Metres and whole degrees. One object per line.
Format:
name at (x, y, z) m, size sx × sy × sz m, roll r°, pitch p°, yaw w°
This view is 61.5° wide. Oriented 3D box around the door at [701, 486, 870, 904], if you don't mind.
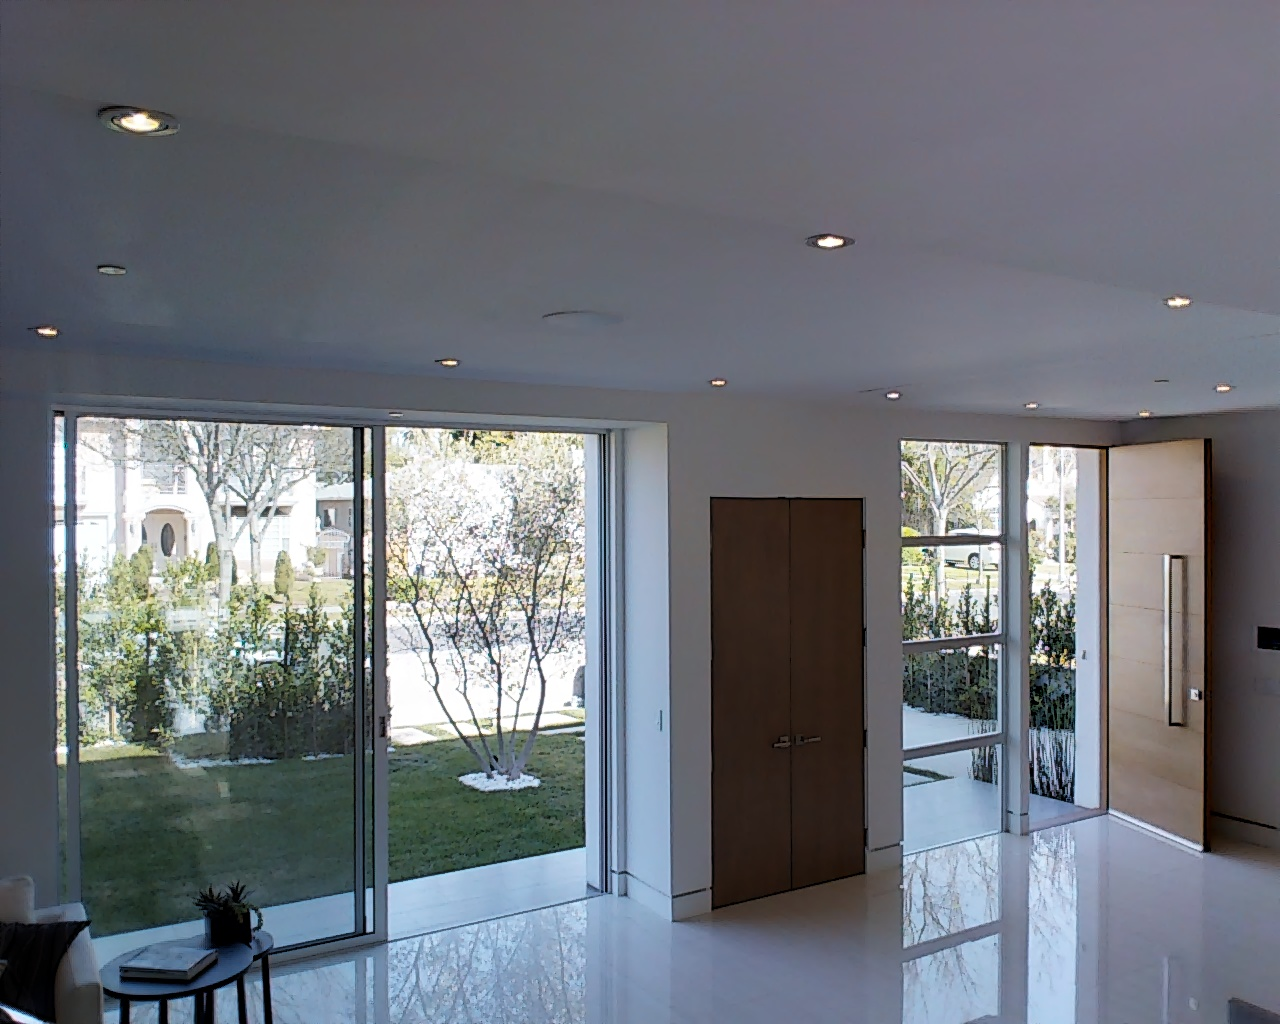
door at (0.930, 1.080, 6.690) m, size 1.300 × 2.461 × 0.040 m, roll 0°, pitch 1°, yaw -32°
